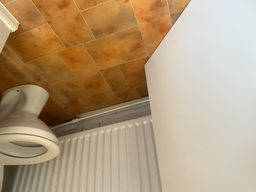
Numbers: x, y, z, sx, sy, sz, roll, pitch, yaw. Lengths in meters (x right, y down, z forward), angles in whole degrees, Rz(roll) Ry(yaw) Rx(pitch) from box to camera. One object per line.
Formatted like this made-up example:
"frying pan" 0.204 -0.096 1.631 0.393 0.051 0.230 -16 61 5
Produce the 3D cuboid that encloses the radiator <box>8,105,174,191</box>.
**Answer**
"radiator" -0.260 0.470 1.360 1.020 0.680 0.120 -12 141 9
